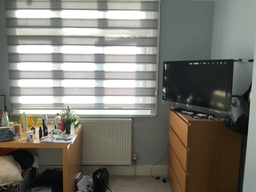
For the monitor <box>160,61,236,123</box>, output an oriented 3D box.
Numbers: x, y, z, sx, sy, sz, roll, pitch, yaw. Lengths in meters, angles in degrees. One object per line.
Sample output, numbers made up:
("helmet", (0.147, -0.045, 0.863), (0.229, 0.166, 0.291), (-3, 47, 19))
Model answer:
("monitor", (0.640, -0.080, 2.120), (0.060, 0.520, 0.800), (-3, 10, -37))
